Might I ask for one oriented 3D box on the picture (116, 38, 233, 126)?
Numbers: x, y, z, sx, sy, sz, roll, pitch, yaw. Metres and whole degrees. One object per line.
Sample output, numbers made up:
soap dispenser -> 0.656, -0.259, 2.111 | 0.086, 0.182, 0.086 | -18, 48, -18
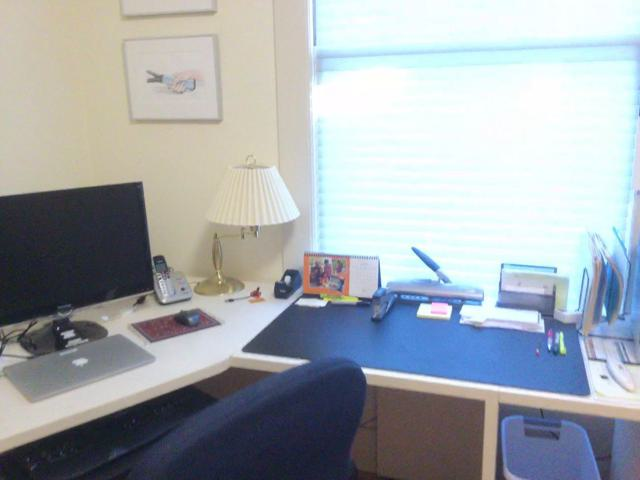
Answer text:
picture -> -0.520, -0.560, 2.070 | 0.410, 0.290, 0.080 | 4, 14, 17

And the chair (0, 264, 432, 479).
chair -> -0.260, 0.640, 1.220 | 0.680, 0.950, 0.660 | -13, 19, -42

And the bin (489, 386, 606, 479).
bin -> 0.670, 0.750, 1.780 | 0.280, 0.390, 0.450 | 4, 14, 17
